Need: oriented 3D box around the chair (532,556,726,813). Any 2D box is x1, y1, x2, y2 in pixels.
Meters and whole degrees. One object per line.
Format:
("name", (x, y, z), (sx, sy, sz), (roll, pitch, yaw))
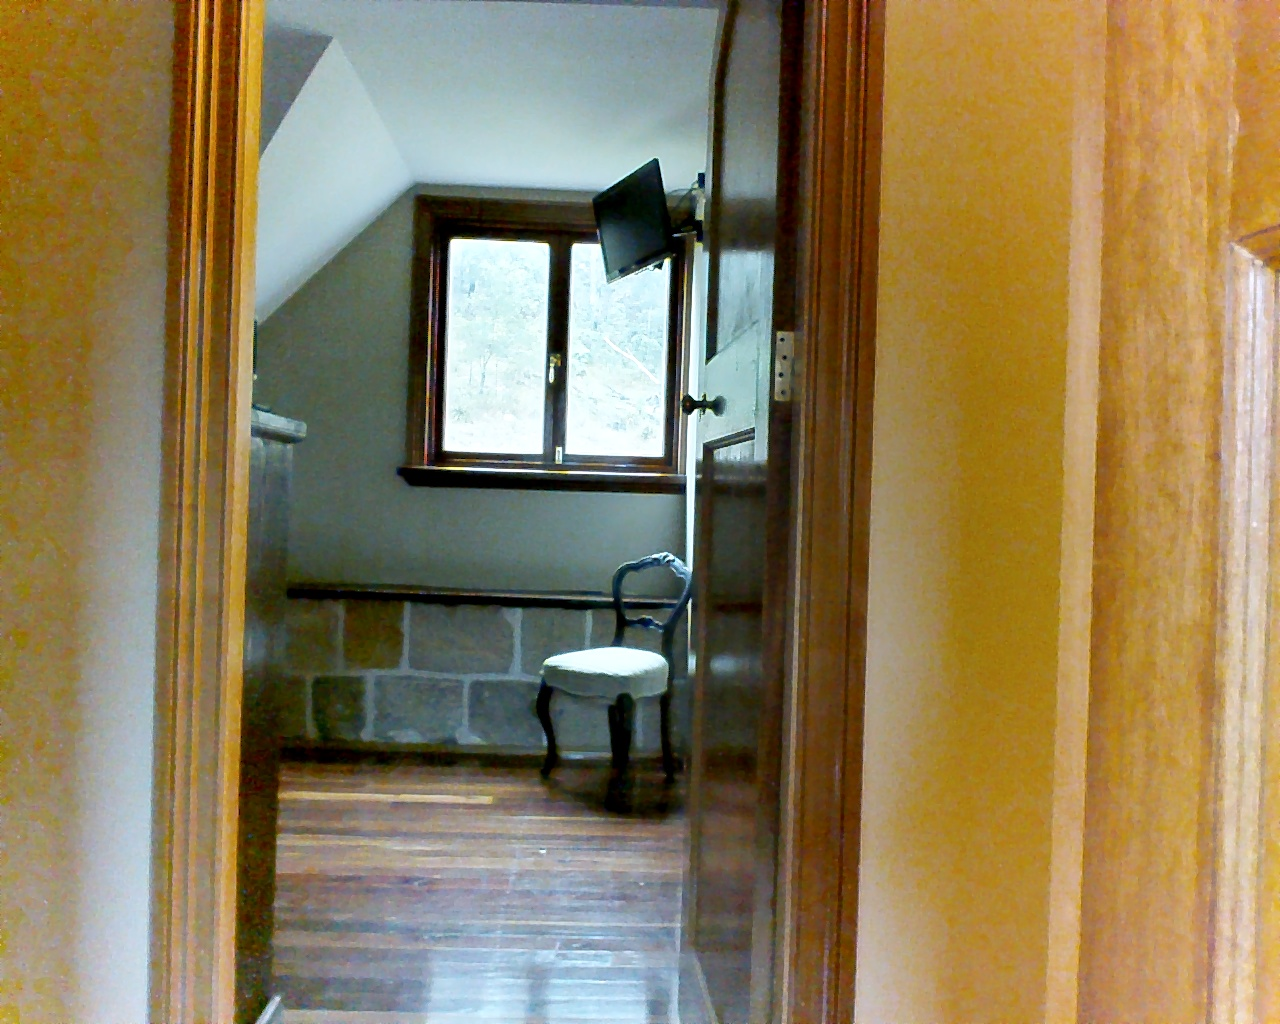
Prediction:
("chair", (-0.040, 0.640, 4.270), (0.500, 0.890, 0.550), (3, 1, 38))
